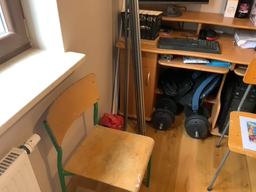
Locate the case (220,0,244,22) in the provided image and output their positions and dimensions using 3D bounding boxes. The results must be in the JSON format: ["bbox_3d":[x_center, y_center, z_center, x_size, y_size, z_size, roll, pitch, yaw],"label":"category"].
[{"bbox_3d":[0.890,-0.800,1.780,0.140,0.290,0.150,15,37,17],"label":"case"}]

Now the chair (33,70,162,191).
[{"bbox_3d":[-0.120,0.340,1.230,0.470,0.790,0.440,12,36,13],"label":"chair"}]

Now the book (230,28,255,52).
[{"bbox_3d":[1.000,-0.460,1.740,0.280,0.070,0.340,14,37,16],"label":"book"}]
